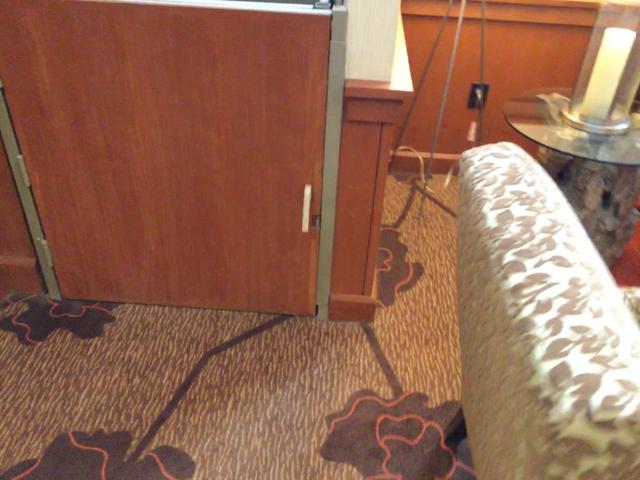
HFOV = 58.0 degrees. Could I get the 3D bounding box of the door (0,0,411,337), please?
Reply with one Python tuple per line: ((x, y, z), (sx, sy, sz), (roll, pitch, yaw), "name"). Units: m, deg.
((-0.350, -0.180, 1.730), (1.130, 1.050, 0.140), (4, 36, 5), "door")
